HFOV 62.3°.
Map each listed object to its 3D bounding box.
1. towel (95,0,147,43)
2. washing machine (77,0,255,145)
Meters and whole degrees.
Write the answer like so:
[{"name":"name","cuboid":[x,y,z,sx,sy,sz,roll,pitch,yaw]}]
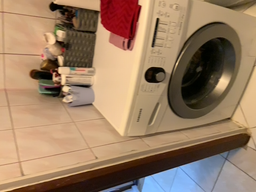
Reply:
[{"name":"towel","cuboid":[-0.040,-0.330,0.850,0.260,0.070,0.170,40,126,49]},{"name":"washing machine","cuboid":[0.240,-0.220,1.240,0.640,0.840,0.600,39,124,49]}]
